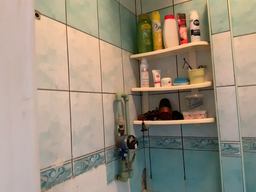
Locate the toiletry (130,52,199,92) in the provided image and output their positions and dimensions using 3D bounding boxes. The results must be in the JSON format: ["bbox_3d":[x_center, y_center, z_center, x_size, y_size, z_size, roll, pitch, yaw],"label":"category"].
[{"bbox_3d":[0.200,-0.120,1.190,0.350,0.170,0.120,-4,-3,27],"label":"toiletry"}]

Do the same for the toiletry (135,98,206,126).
[{"bbox_3d":[0.230,0.090,1.170,0.350,0.130,0.140,-5,-4,31],"label":"toiletry"}]

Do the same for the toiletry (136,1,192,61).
[{"bbox_3d":[0.200,-0.360,1.220,0.290,0.260,0.090,-4,-4,29],"label":"toiletry"}]
